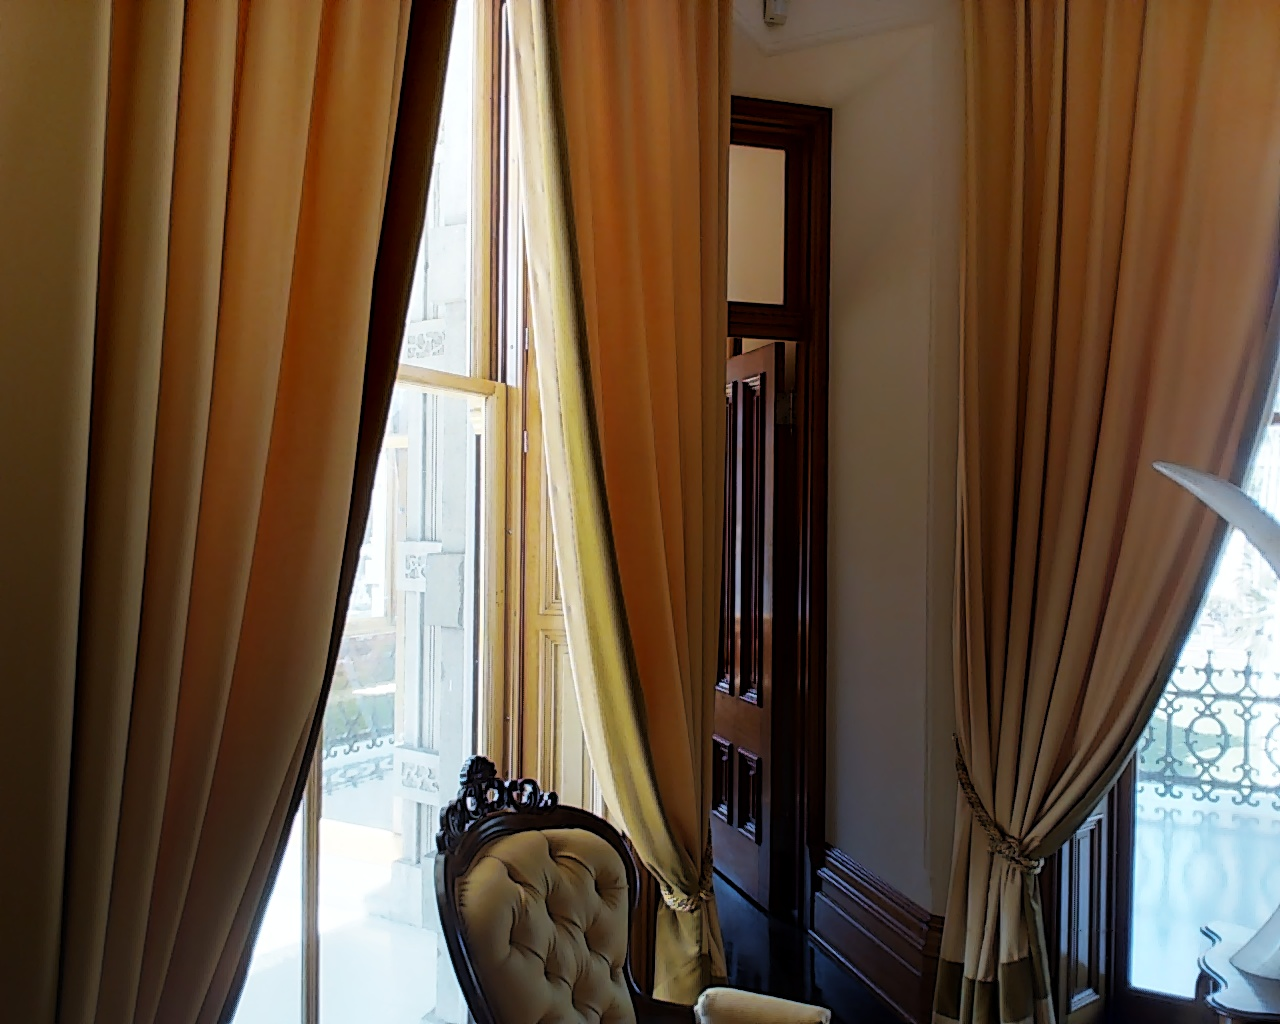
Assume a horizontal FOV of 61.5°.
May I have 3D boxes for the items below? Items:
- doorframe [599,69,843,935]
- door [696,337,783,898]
[{"bbox_3d":[0.300,-0.030,4.190,0.810,3.110,0.460,1,0,-15],"label":"doorframe"},{"bbox_3d":[0.420,0.420,4.700,0.090,2.250,0.780,1,0,-15],"label":"door"}]
